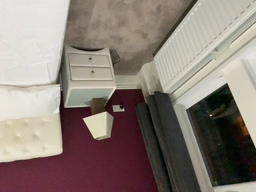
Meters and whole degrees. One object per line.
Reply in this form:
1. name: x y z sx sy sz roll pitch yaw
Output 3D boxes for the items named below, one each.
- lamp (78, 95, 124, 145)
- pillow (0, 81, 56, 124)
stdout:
1. lamp: -0.300 0.250 2.200 0.330 0.380 0.400 -2 155 -25
2. pillow: -0.920 0.060 1.690 0.610 0.180 0.420 -2 155 -26
